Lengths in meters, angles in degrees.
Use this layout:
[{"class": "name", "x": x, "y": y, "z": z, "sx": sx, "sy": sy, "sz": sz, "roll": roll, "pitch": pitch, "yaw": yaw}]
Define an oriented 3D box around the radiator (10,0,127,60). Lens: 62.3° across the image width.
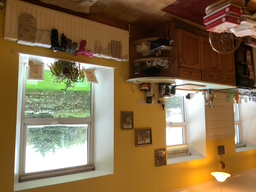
[{"class": "radiator", "x": -0.660, "y": -0.820, "z": 2.730, "sx": 1.480, "sy": 0.480, "sz": 0.130, "roll": 3, "pitch": 173, "yaw": -35}]
